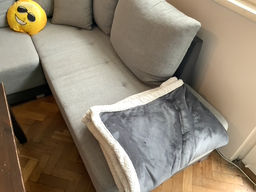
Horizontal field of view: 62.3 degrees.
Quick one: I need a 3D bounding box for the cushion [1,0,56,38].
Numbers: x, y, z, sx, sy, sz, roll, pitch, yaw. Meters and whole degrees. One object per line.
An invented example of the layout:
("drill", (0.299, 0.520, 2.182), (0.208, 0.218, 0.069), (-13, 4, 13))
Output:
("cushion", (-0.840, -0.700, 1.800), (0.350, 0.220, 0.300), (-17, 49, -20))
